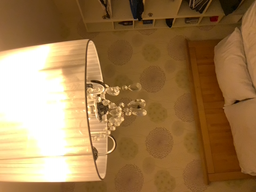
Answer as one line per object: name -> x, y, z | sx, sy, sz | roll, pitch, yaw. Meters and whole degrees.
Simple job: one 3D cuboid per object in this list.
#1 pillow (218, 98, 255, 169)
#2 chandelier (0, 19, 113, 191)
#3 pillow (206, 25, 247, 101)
pillow -> 1.000, 0.340, 1.940 | 0.380, 0.100, 0.570 | 88, 177, -78
chandelier -> -0.400, 0.050, 0.630 | 0.460, 0.660, 0.420 | -97, 3, -78
pillow -> 0.930, -0.300, 2.050 | 0.350, 0.140, 0.630 | 88, 177, -78
